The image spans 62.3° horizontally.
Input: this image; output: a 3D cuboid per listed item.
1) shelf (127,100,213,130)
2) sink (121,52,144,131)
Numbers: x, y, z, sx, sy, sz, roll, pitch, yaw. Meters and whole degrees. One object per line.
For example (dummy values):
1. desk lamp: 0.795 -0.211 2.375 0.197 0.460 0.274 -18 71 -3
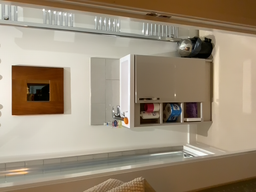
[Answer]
1. shelf: 0.400 0.160 1.980 0.240 0.780 0.220 -175 85 -68
2. sink: 0.030 -0.040 1.820 0.240 0.110 0.630 -175 85 -68
